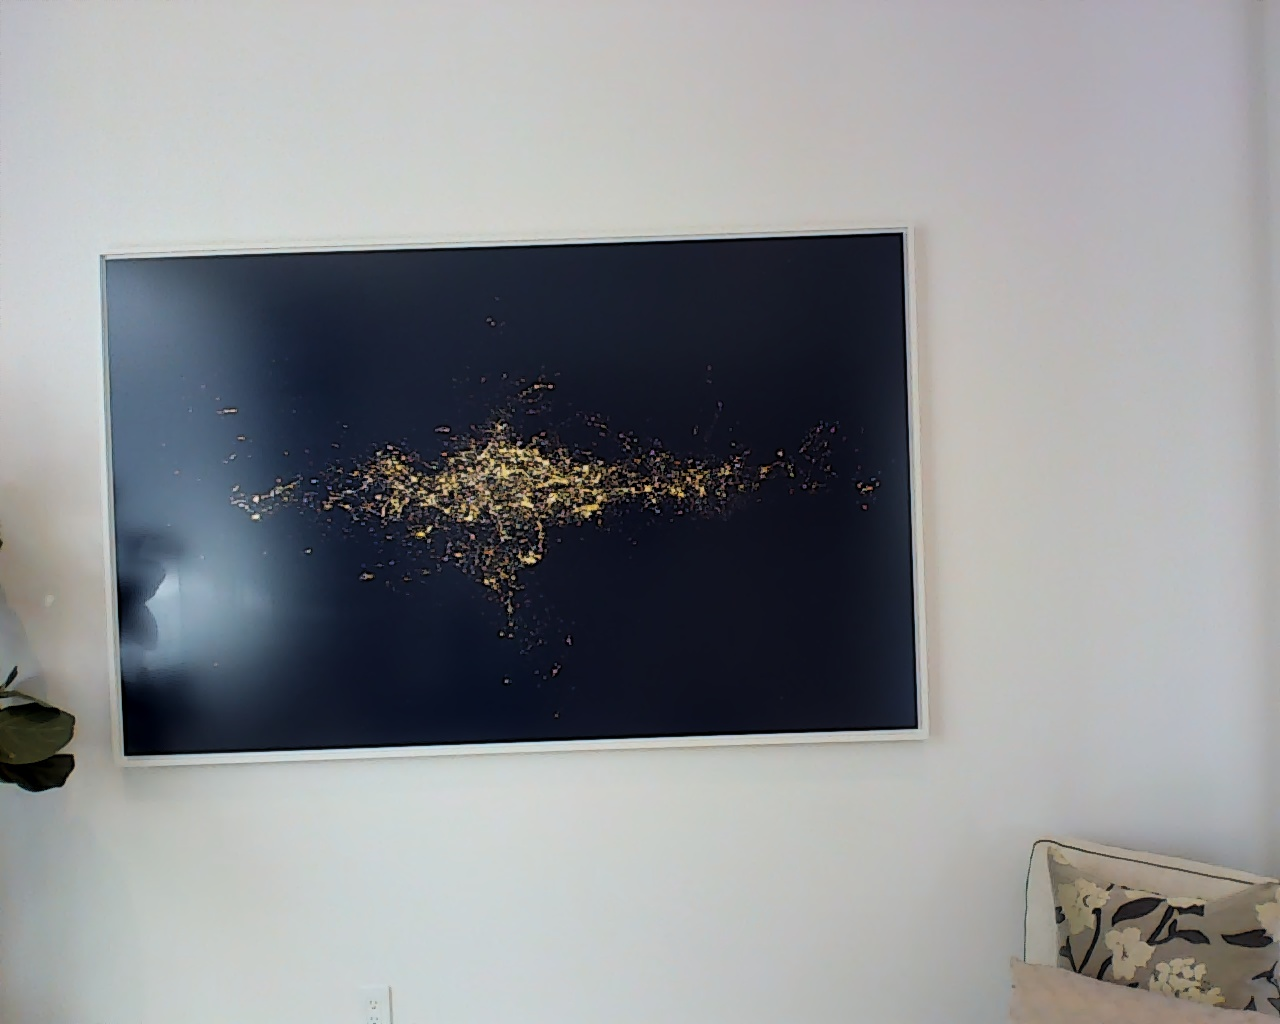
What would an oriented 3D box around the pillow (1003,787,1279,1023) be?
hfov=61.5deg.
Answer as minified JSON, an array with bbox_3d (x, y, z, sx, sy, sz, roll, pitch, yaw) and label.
[{"bbox_3d":[1.020,0.890,2.060,0.510,0.470,0.270,19,31,40],"label":"pillow"}]

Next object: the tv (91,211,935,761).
[{"bbox_3d":[-0.290,-0.060,2.530,1.919,1.211,0.050,-2,1,0],"label":"tv"}]
